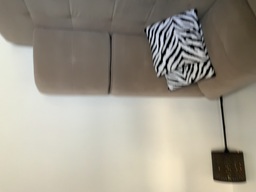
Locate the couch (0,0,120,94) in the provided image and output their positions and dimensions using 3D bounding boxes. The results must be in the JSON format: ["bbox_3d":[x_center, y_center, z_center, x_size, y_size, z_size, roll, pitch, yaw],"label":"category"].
[{"bbox_3d":[-0.530,-0.550,1.430,0.850,0.840,1.030,1,167,-7],"label":"couch"}]

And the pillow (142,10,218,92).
[{"bbox_3d":[0.360,-0.320,1.550,0.420,0.420,0.210,-21,144,24],"label":"pillow"}]
